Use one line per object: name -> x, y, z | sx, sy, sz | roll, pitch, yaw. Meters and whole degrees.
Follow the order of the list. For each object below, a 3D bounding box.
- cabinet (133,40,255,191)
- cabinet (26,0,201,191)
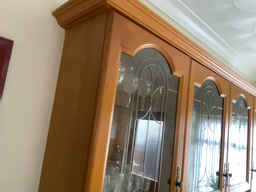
cabinet -> 0.530, 0.260, 1.420 | 0.330, 0.880, 1.000 | -2, -12, 45
cabinet -> -0.040, 0.330, 0.840 | 0.330, 1.320, 0.570 | -2, -12, 45
